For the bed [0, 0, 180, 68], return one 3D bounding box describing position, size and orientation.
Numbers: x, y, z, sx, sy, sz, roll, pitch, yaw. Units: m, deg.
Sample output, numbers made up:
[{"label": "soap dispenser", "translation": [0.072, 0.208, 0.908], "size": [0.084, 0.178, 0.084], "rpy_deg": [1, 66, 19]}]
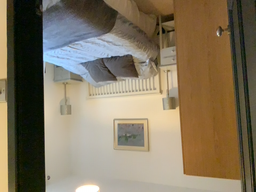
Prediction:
[{"label": "bed", "translation": [-0.410, -0.910, 2.860], "size": [1.540, 0.630, 2.050], "rpy_deg": [-5, 177, 33]}]
